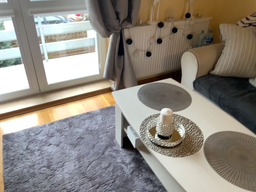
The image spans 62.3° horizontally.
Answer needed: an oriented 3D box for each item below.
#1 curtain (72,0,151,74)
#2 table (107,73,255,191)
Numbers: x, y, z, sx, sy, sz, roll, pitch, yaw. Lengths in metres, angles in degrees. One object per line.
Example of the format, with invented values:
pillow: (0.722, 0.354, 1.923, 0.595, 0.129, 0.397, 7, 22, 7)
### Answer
curtain: (-0.130, -1.220, 1.700, 0.670, 2.040, 0.270, -18, 38, -28)
table: (0.370, 0.370, 1.470, 0.640, 0.540, 1.070, -15, 37, -24)
